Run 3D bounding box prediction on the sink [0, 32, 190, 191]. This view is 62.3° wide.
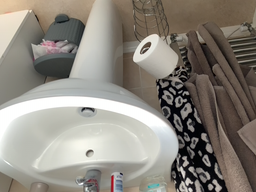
[{"bbox_3d":[-0.140,0.090,0.640,0.560,0.200,0.440,-6,137,4],"label":"sink"}]
